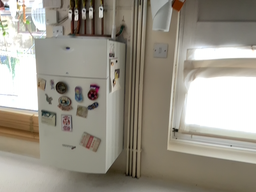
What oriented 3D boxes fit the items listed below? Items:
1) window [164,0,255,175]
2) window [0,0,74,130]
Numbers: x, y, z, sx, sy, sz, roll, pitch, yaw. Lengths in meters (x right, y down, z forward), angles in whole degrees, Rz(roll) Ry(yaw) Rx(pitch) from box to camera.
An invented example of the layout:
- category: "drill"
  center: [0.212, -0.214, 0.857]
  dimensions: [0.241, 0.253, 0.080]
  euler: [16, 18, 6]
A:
- category: "window"
  center: [0.750, -0.180, 1.310]
  dimensions: [0.940, 1.300, 0.260]
  euler: [5, -167, 13]
- category: "window"
  center: [-1.100, -0.400, 1.860]
  dimensions: [1.180, 1.170, 0.370]
  euler: [6, -167, 19]
